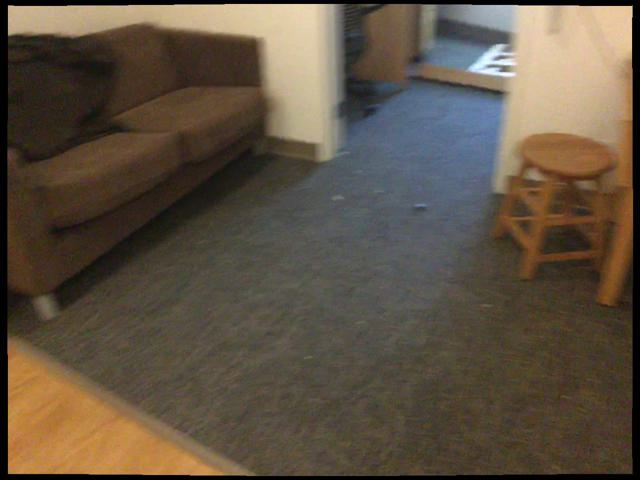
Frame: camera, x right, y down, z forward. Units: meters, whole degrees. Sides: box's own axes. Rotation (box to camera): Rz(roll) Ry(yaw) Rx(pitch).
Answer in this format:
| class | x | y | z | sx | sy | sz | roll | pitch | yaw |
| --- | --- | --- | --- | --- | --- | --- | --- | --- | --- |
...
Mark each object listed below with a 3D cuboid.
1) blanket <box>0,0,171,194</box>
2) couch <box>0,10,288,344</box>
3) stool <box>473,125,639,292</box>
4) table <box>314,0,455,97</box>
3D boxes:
| class | x | y | z | sx | sy | sz | roll | pitch | yaw |
| --- | --- | --- | --- | --- | --- | --- | --- | --- | --- |
| blanket | -1.317 | -0.611 | 2.380 | 0.559 | 0.521 | 1.360 | 15 | 36 | 23 |
| couch | -0.998 | -0.471 | 2.670 | 0.929 | 0.751 | 1.710 | 15 | 36 | 23 |
| stool | 0.918 | -0.140 | 2.340 | 0.399 | 0.481 | 0.480 | -3 | 33 | -3 |
| table | 0.649 | -1.934 | 4.860 | 0.639 | 0.701 | 2.251 | 10 | 34 | 17 |
